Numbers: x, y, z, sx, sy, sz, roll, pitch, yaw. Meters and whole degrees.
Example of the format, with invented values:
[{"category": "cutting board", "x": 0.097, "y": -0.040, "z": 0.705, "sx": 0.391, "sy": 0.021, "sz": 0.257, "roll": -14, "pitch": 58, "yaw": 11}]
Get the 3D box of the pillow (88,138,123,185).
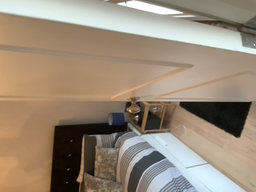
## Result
[{"category": "pillow", "x": -0.250, "y": 0.770, "z": 2.490, "sx": 0.150, "sy": 0.290, "sz": 0.430, "roll": 15, "pitch": 133, "yaw": 39}]
